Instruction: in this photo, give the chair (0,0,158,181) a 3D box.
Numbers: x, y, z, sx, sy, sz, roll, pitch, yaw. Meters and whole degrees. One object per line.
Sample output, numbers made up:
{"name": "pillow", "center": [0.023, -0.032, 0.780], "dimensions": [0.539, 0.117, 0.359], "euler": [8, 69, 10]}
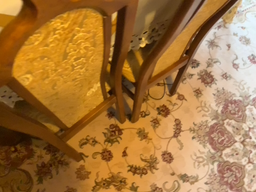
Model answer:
{"name": "chair", "center": [-0.320, -0.120, 0.760], "dimensions": [0.480, 1.070, 0.580], "euler": [-41, 74, -18]}
